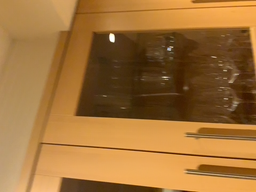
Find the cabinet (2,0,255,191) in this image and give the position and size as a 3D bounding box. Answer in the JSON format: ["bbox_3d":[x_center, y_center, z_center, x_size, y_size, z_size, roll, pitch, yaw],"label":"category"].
[{"bbox_3d":[0.130,0.030,0.790,0.380,0.820,1.440,67,-153,-65],"label":"cabinet"}]
